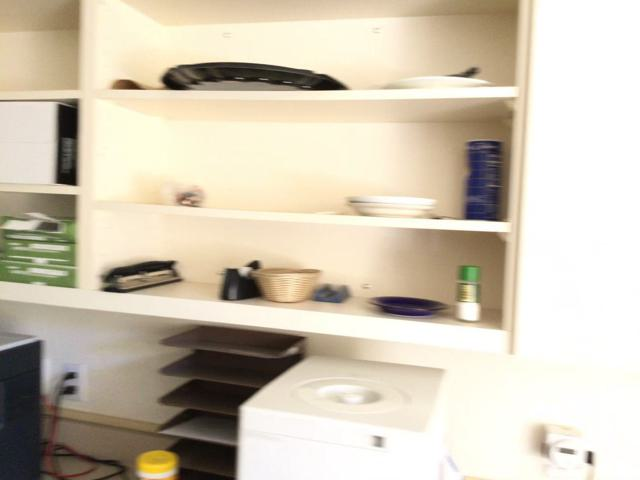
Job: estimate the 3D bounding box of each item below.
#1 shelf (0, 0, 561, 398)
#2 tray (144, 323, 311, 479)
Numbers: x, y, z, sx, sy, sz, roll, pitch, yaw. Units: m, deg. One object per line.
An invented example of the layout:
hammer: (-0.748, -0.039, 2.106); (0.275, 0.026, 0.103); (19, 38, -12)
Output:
shelf: (-0.500, -0.220, 1.430); (1.950, 0.790, 0.430); (5, 3, 16)
tray: (-0.230, 0.480, 1.470); (0.320, 0.460, 0.250); (5, 3, 16)
